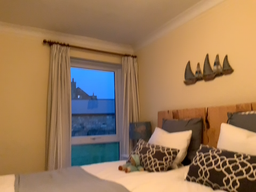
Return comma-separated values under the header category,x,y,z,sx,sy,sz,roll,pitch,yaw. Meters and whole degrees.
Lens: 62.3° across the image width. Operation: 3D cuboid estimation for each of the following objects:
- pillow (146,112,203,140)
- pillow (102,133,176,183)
category,x,y,z,sx,sy,sz,roll,pitch,yaw
pillow,0.490,0.340,2.320,0.100,0.250,0.620,45,-33,-20
pillow,0.090,0.560,1.980,0.590,0.430,0.140,-19,-72,51
